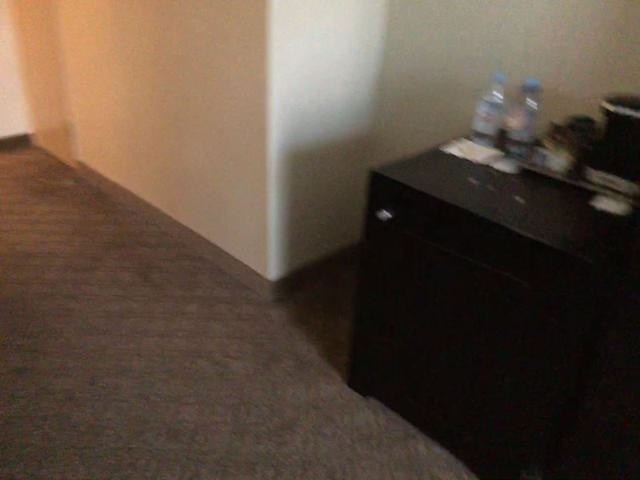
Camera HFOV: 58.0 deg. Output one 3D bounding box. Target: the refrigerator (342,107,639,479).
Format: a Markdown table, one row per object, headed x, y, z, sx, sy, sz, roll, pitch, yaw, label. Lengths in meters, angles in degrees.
| x | y | z | sx | sy | sz | roll | pitch | yaw | label |
| --- | --- | --- | --- | --- | --- | --- | --- | --- | --- |
| 0.550 | 0.140 | 1.670 | 0.670 | 0.820 | 0.670 | -20 | 34 | -35 | refrigerator |
